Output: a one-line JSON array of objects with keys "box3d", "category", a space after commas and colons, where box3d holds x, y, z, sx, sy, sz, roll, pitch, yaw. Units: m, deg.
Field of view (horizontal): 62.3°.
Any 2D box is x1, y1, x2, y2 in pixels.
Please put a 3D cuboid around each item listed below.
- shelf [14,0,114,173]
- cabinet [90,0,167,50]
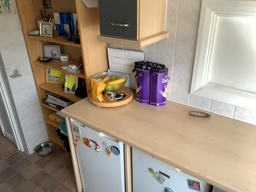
[{"box3d": [-0.590, -0.280, 2.030, 0.840, 2.030, 0.290, 18, 32, 32], "category": "shelf"}, {"box3d": [0.010, -0.740, 1.260, 0.330, 0.820, 0.360, 18, 32, 32], "category": "cabinet"}]
